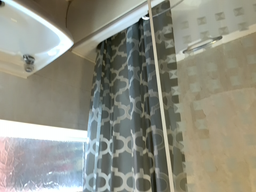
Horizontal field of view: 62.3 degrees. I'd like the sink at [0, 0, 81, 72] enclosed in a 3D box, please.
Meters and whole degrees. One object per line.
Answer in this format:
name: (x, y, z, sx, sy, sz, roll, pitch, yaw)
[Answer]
sink: (-0.560, -0.340, 0.900, 0.400, 0.190, 0.580, -16, 158, 33)
